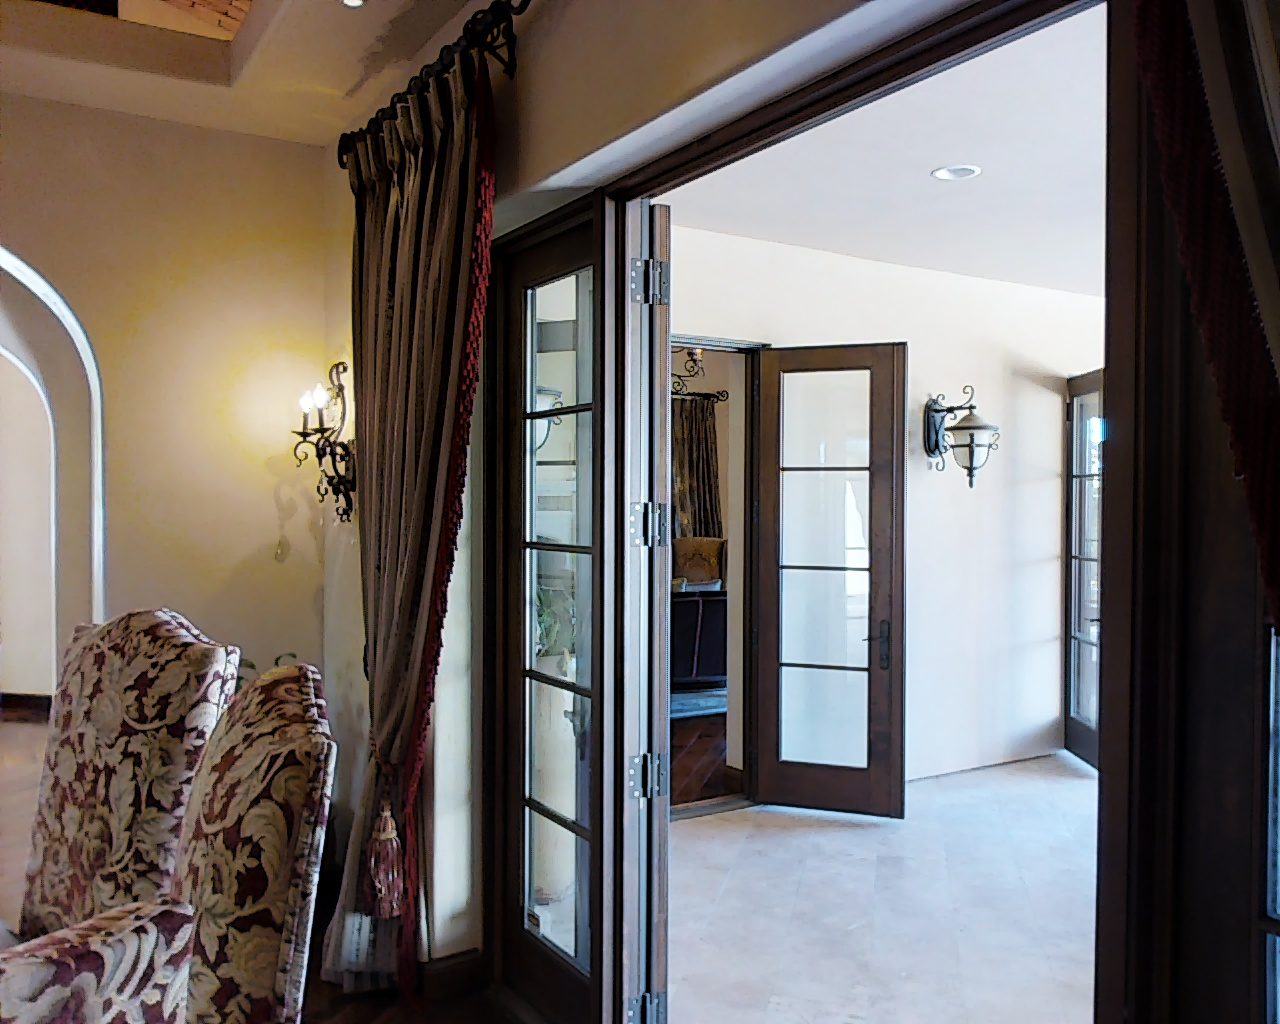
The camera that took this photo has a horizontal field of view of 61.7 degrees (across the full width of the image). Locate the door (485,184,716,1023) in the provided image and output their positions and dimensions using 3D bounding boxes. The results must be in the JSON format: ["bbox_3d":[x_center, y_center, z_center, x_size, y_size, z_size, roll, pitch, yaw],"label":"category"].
[{"bbox_3d":[-0.140,0.250,3.220,0.350,2.230,0.720,0,1,-36],"label":"door"}]

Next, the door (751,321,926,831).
[{"bbox_3d":[0.990,0.310,5.400,0.850,2.470,0.110,0,1,23],"label":"door"}]
